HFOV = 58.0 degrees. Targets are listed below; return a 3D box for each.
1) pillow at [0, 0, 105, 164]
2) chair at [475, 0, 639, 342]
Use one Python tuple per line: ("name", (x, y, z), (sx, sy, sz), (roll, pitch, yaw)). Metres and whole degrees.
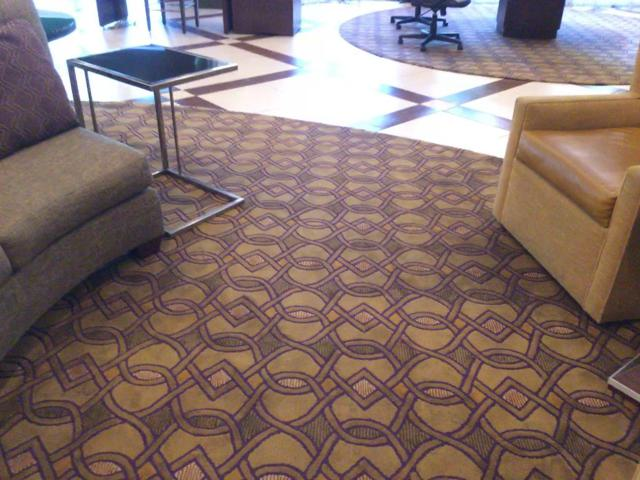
("pillow", (-1.200, -0.600, 2.170), (0.280, 0.470, 0.570), (3, 34, 29))
("chair", (1.260, -0.400, 2.150), (0.890, 1.070, 0.950), (-6, 30, -9))
